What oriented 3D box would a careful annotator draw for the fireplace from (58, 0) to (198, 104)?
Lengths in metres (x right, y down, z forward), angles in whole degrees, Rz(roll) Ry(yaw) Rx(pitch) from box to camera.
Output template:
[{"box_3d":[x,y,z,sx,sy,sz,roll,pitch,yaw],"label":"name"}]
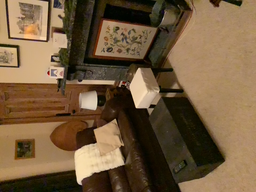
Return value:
[{"box_3d":[-0.160,-0.680,2.690,1.690,1.180,0.610,116,145,-43],"label":"fireplace"}]
